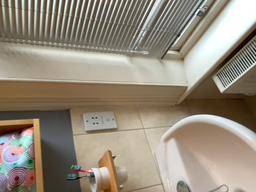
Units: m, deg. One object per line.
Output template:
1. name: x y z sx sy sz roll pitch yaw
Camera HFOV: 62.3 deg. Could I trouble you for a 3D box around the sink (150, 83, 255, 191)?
1. sink: 0.350 0.340 0.680 0.490 0.180 0.580 -56 43 47
